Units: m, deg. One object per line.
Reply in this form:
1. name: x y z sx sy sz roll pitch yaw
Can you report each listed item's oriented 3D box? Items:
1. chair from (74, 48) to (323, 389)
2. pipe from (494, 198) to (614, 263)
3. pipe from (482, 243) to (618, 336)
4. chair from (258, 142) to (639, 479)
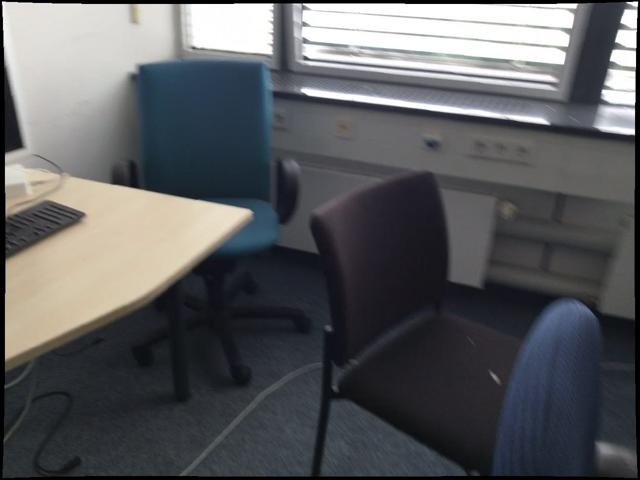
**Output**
1. chair: -0.390 -0.120 2.050 0.639 0.941 0.730 -5 29 -11
2. pipe: 0.899 -0.040 2.240 0.400 0.140 0.120 12 30 19
3. pipe: 0.909 0.190 2.310 0.460 0.210 0.180 12 30 19
4. chair: 0.300 0.270 1.420 0.610 0.761 0.640 -23 37 -37
